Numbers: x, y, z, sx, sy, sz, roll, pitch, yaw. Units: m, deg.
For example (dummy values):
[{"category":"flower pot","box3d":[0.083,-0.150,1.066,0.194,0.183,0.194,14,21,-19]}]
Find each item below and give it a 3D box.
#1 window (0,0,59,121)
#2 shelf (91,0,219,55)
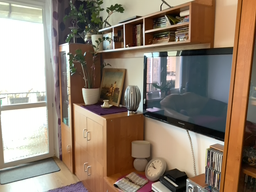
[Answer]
[{"category":"window","box3d":[-2.140,-0.490,2.650,2.460,1.730,0.190,-5,10,-35]},{"category":"shelf","box3d":[0.080,-0.610,2.190,0.260,0.310,1.710,-4,10,-33]}]
